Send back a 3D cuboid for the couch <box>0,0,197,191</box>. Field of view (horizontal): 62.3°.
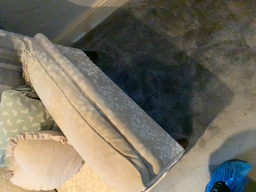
[{"bbox_3d":[-0.440,0.190,0.940,0.900,0.880,0.870,47,115,20],"label":"couch"}]
